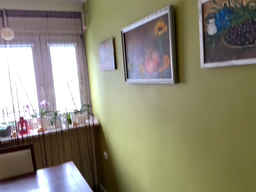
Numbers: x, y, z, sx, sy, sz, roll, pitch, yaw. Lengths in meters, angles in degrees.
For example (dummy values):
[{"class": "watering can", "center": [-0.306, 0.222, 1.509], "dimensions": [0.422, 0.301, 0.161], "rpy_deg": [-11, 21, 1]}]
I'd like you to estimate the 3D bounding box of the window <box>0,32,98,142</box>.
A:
[{"class": "window", "center": [-1.140, -0.130, 2.540], "dimensions": [1.480, 1.210, 0.150], "rpy_deg": [-7, 8, -24]}]
